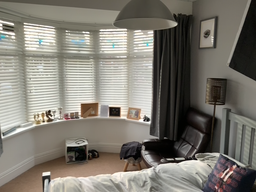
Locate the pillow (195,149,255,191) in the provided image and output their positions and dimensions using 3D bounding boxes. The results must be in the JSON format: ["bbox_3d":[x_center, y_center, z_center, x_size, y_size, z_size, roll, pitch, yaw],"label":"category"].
[{"bbox_3d":[0.750,0.660,1.660,0.120,0.330,0.370,25,2,-21],"label":"pillow"}]
